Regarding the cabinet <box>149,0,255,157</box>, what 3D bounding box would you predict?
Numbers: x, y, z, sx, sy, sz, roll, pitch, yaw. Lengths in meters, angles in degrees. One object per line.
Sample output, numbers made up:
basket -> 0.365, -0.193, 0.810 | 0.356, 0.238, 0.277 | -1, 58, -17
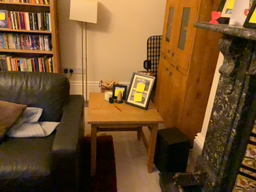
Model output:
cabinet -> 0.710, -0.350, 2.450 | 0.530, 1.580, 1.260 | 3, 23, -6
